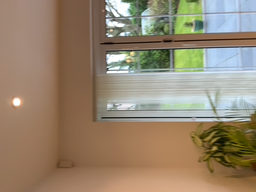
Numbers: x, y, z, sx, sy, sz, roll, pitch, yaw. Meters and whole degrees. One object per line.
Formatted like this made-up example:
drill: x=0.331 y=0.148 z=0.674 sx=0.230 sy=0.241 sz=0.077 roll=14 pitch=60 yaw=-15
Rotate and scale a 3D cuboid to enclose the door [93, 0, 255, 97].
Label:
door: x=0.660 y=-1.200 z=2.350 sx=0.160 sy=2.100 sz=2.370 roll=17 pitch=-108 yaw=-86
